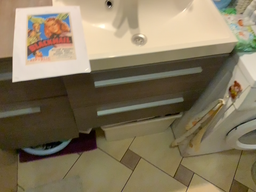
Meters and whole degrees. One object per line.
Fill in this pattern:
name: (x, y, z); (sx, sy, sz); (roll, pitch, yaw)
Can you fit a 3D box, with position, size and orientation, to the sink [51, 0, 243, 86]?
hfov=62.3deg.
sink: (0.040, -0.290, 0.810); (0.610, 0.110, 0.430); (-9, 61, -12)
